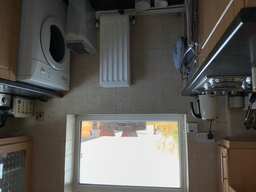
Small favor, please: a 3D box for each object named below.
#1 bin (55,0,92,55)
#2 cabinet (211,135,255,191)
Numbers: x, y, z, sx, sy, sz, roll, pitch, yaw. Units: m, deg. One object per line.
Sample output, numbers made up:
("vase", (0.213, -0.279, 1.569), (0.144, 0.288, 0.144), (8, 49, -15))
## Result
("bin", (-0.510, -0.710, 2.060), (0.210, 0.500, 0.420), (-1, 174, 6))
("cabinet", (0.890, 0.780, 1.700), (0.320, 0.900, 0.320), (-1, 174, 10))
